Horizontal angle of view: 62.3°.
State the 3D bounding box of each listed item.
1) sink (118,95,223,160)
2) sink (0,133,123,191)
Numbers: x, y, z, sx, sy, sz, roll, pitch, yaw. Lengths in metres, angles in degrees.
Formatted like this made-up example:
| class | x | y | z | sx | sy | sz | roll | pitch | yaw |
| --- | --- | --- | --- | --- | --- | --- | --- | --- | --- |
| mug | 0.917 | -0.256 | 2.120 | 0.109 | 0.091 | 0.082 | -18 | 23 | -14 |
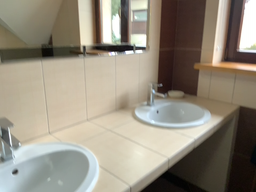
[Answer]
| class | x | y | z | sx | sy | sz | roll | pitch | yaw |
| --- | --- | --- | --- | --- | --- | --- | --- | --- | --- |
| sink | 0.330 | 0.180 | 1.600 | 0.510 | 0.160 | 0.630 | 15 | 22 | 40 |
| sink | -0.400 | 0.400 | 0.880 | 0.530 | 0.170 | 0.540 | 15 | 22 | 40 |
